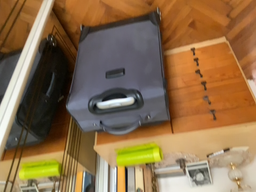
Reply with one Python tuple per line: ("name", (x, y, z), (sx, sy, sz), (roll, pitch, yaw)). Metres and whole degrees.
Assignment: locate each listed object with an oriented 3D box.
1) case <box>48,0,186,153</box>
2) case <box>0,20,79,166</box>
("case", (-0.020, -0.130, 1.020), (0.460, 0.660, 0.330), (-9, 142, 11))
("case", (-0.590, -0.010, 1.150), (0.440, 0.610, 0.390), (-11, 142, 13))
